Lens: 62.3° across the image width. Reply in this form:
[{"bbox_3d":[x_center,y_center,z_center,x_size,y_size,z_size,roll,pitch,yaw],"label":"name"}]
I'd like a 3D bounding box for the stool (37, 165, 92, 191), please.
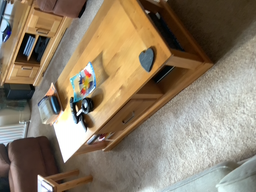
[{"bbox_3d":[-0.620,0.990,2.080,0.350,0.400,0.450,2,92,45],"label":"stool"}]

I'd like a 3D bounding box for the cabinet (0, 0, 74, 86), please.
[{"bbox_3d":[-1.250,-0.730,2.640,1.340,0.480,0.500,-46,60,36],"label":"cabinet"}]
